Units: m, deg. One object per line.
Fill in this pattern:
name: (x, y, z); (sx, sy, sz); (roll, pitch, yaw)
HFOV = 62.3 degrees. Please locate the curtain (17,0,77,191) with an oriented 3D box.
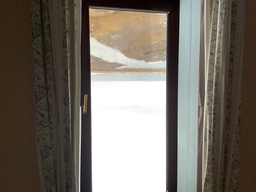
curtain: (-0.410, 0.010, 1.120); (0.240, 2.100, 0.160); (-2, -175, -13)

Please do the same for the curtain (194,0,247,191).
curtain: (0.570, -0.020, 1.330); (0.210, 2.100, 0.180); (-2, -175, -13)
